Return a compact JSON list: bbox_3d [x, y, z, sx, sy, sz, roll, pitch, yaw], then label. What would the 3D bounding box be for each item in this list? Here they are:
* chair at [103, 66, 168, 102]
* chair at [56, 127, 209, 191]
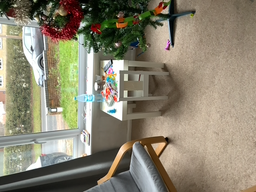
[{"bbox_3d":[0.070,-0.120,2.020,0.350,0.510,0.290,8,99,60],"label":"chair"},{"bbox_3d":[-0.030,0.870,1.840,0.700,0.940,0.860,61,141,38],"label":"chair"}]
